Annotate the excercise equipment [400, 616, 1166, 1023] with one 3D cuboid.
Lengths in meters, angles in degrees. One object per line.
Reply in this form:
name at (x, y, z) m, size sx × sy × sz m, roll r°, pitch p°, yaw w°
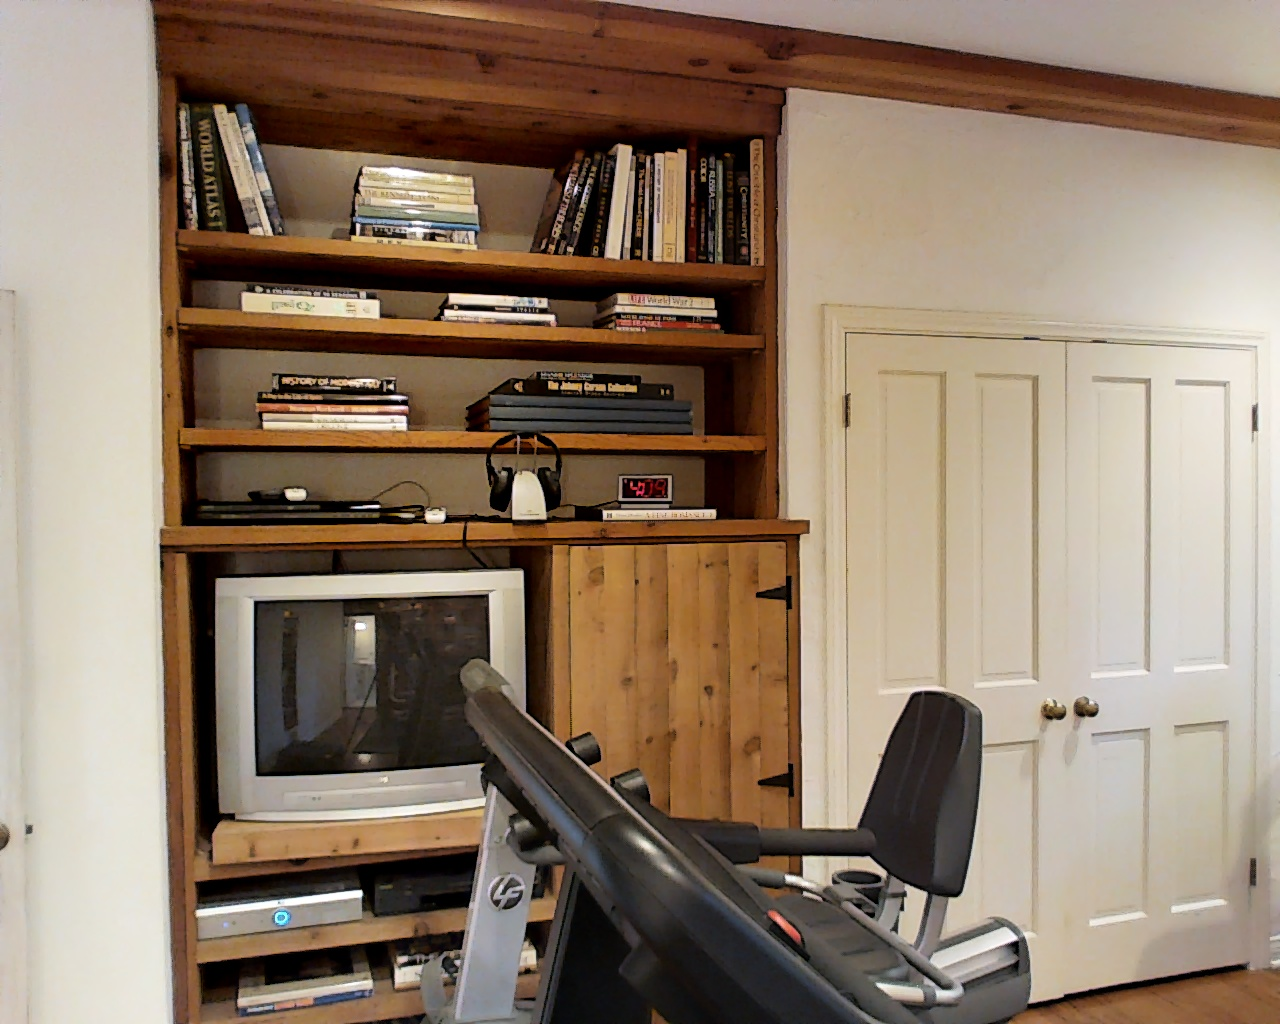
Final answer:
excercise equipment at (0.260, 0.910, 2.150) m, size 1.380 × 1.280 × 0.620 m, roll -1°, pitch 1°, yaw -18°
